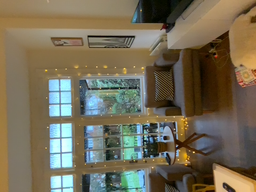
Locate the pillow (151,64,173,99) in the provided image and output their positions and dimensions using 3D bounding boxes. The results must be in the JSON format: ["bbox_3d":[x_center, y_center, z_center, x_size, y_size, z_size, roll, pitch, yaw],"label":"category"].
[{"bbox_3d":[0.550,-0.230,3.430,0.100,0.310,0.530,13,-105,-72],"label":"pillow"}]

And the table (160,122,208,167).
[{"bbox_3d":[0.890,0.760,3.490,0.600,0.540,0.600,157,110,-81],"label":"table"}]
